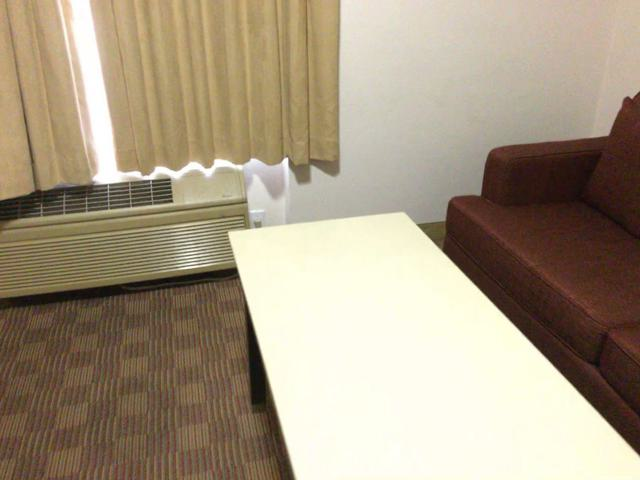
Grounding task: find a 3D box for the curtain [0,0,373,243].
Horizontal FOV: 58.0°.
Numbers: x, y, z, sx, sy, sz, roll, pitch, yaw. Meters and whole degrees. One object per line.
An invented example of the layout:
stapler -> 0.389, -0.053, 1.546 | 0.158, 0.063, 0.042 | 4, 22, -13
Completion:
curtain -> -0.720, -0.840, 1.910 | 1.700, 1.510, 0.560 | -8, 28, -13
